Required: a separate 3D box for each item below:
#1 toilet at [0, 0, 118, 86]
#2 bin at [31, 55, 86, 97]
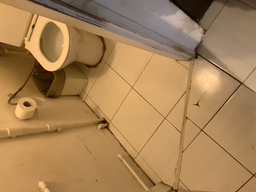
[{"bbox_3d":[-0.640,-0.450,1.490,0.710,0.830,0.380,44,114,27],"label":"toilet"},{"bbox_3d":[-0.580,-0.160,1.770,0.360,0.270,0.140,46,115,26],"label":"bin"}]
